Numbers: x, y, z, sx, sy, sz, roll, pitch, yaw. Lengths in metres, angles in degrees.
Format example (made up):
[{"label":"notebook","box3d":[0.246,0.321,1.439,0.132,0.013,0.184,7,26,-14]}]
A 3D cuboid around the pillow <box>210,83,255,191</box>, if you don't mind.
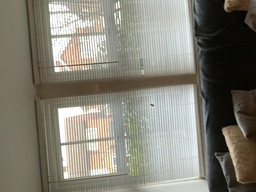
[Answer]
[{"label":"pillow","box3d":[0.900,0.350,1.500,0.390,0.400,0.880,179,86,-85]}]
